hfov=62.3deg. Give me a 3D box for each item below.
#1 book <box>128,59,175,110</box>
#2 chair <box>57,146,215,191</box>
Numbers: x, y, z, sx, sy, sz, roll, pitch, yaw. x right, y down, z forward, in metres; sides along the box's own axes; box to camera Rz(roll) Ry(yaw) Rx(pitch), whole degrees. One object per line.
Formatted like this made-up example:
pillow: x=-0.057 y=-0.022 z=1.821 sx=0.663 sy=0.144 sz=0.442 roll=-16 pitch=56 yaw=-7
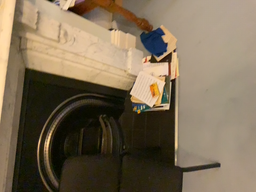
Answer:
book: x=0.190 y=-0.080 z=1.830 sx=0.410 sy=0.120 sz=0.370 roll=-8 pitch=77 yaw=41
chair: x=0.100 y=0.580 z=1.270 sx=0.480 sy=0.890 sz=0.430 roll=1 pitch=83 yaw=43
